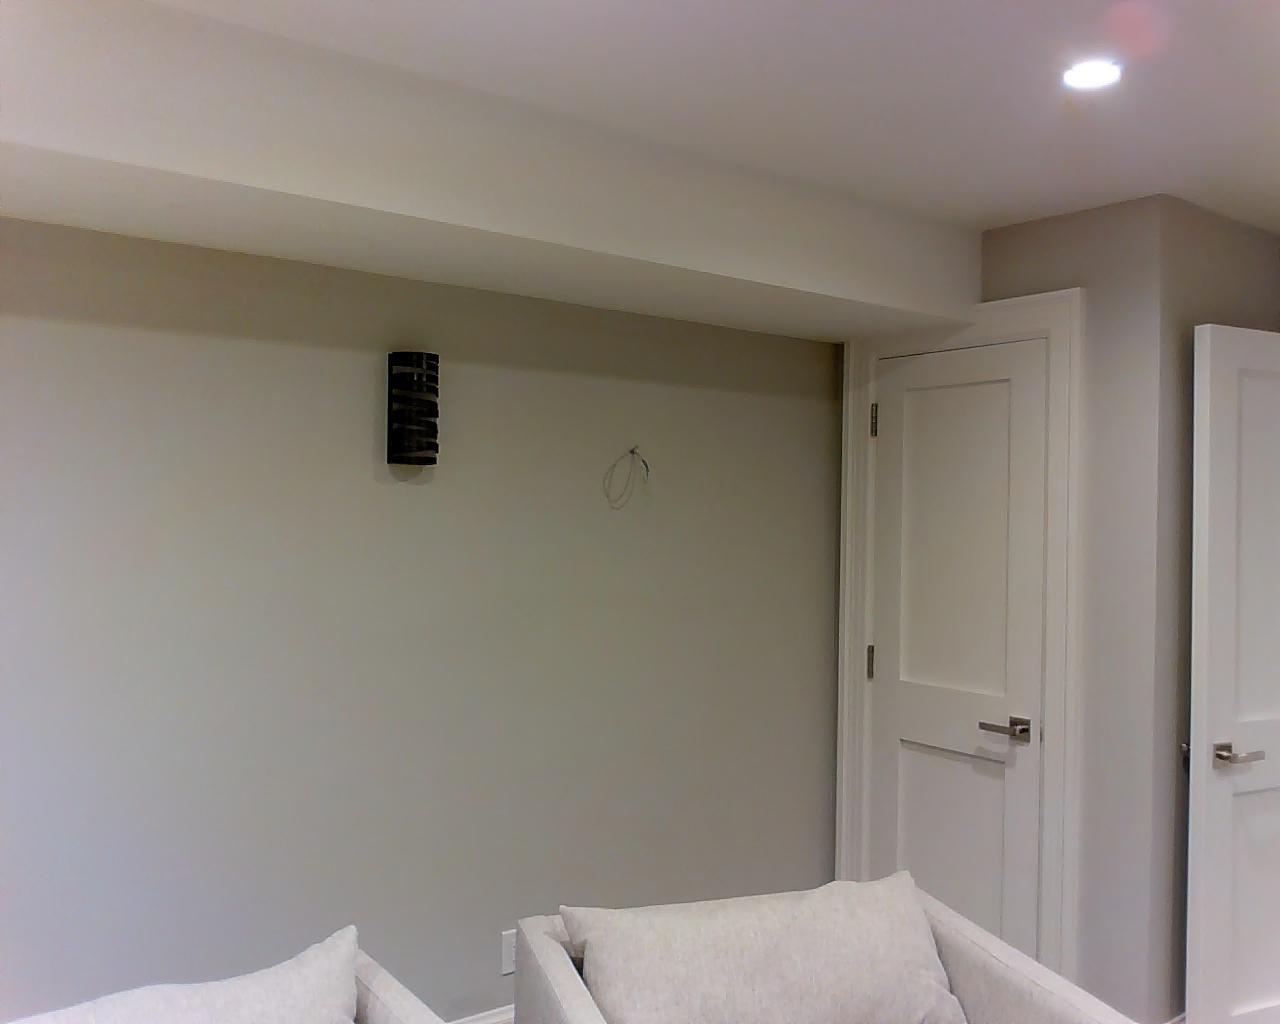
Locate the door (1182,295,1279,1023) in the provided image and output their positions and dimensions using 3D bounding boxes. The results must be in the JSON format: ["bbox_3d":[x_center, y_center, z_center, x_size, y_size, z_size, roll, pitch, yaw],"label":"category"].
[{"bbox_3d":[1.800,0.510,2.960,0.800,2.120,0.050,1,0,-26],"label":"door"}]

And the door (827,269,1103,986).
[{"bbox_3d":[0.960,0.310,3.320,0.070,1.950,0.920,1,0,-37],"label":"door"}]
